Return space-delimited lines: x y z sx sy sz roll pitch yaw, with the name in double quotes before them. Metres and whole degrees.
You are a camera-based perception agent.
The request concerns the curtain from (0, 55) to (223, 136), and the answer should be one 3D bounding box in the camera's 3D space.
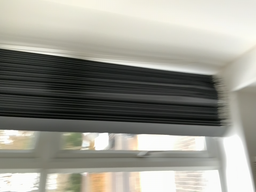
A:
"curtain" -0.140 0.020 1.170 0.120 1.410 0.340 130 142 -64
